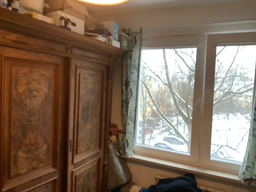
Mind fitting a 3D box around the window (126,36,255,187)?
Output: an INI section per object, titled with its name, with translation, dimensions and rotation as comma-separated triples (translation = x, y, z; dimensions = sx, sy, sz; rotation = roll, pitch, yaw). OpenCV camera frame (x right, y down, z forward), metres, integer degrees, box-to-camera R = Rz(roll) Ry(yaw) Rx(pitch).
[window]
translation = 0.720, 0.100, 2.340
dimensions = 1.490, 1.390, 0.210
rotation = 5, 4, 29
